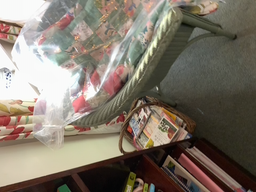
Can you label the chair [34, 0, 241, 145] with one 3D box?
[{"bbox_3d":[0.050,-0.220,0.990,0.460,0.620,0.640,41,114,32],"label":"chair"}]
